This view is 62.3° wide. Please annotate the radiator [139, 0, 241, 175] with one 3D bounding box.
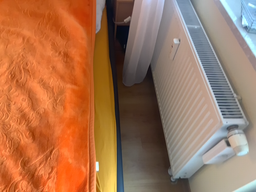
[{"bbox_3d":[0.240,-0.070,1.190,0.160,0.570,0.820,0,53,-9],"label":"radiator"}]
